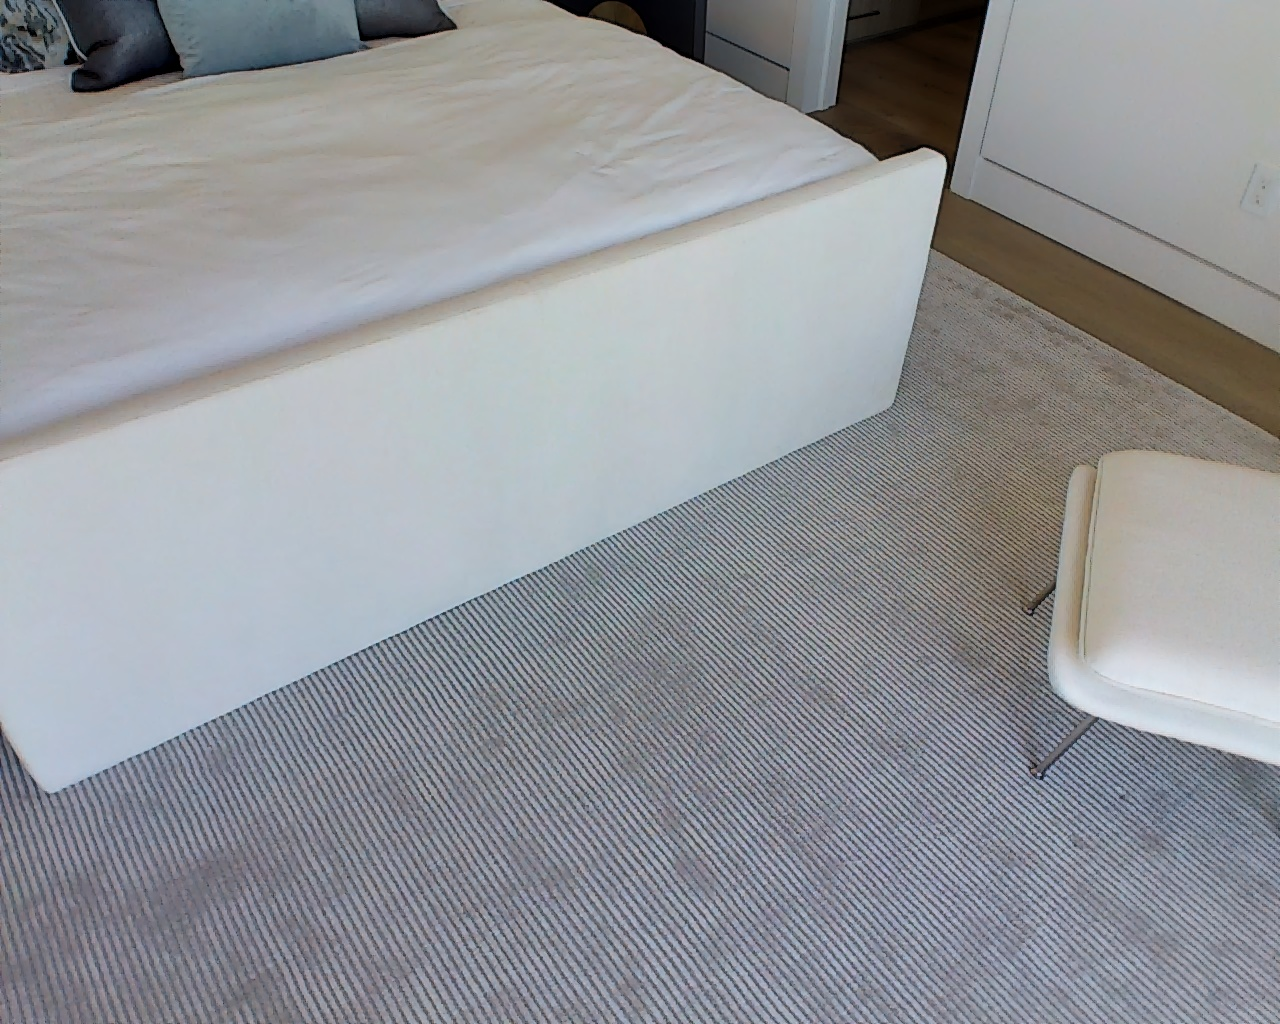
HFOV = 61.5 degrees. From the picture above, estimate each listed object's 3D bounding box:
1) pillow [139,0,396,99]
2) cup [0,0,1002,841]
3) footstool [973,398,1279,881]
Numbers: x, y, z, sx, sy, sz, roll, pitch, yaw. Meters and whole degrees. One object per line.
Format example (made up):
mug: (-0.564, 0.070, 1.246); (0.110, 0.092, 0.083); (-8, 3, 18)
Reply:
pillow: (-0.850, -1.150, 2.460); (0.500, 0.250, 0.220); (-24, 48, -28)
cup: (-0.510, -0.460, 2.350); (2.150, 0.760, 1.250); (-22, 47, -27)
footstool: (0.950, 0.200, 1.800); (0.610, 0.390, 0.610); (15, 42, 13)
